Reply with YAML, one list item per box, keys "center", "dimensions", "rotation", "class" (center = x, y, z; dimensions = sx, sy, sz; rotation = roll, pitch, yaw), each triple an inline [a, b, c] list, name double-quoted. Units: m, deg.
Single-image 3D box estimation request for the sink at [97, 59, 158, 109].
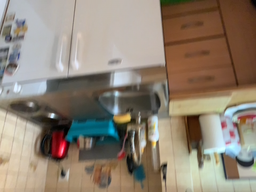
- center: [0.010, -0.060, 1.320]
  dimensions: [0.320, 0.180, 0.280]
  rotation: [-6, 157, 11]
  class: "sink"
